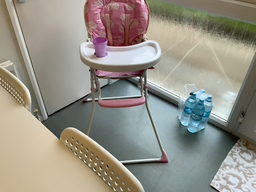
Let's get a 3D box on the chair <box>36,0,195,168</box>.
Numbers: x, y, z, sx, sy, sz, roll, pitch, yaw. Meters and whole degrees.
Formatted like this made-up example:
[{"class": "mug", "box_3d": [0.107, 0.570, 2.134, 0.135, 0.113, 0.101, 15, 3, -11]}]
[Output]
[{"class": "chair", "box_3d": [-0.080, -0.140, 1.470, 0.650, 0.990, 0.760, -2, 39, -4]}]
